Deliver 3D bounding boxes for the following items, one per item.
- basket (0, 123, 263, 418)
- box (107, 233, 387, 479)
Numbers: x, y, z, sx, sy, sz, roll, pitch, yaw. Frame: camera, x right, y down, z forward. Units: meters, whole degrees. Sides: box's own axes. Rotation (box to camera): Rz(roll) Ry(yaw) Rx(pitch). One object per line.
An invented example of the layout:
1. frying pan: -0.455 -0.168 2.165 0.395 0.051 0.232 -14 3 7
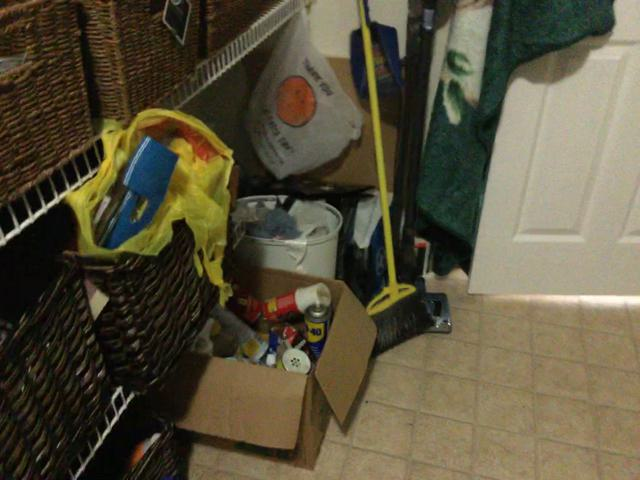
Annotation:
1. basket: -0.350 0.030 1.080 0.340 0.330 0.400 8 36 14
2. box: -0.130 0.310 1.440 0.490 0.380 0.500 8 36 14
